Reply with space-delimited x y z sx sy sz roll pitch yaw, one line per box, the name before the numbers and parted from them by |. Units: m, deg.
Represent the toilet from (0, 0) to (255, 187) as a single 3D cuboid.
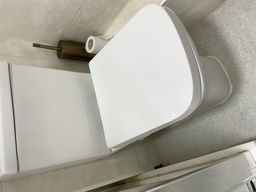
toilet | -0.010 -0.010 0.780 0.600 0.780 0.390 -36 64 43
